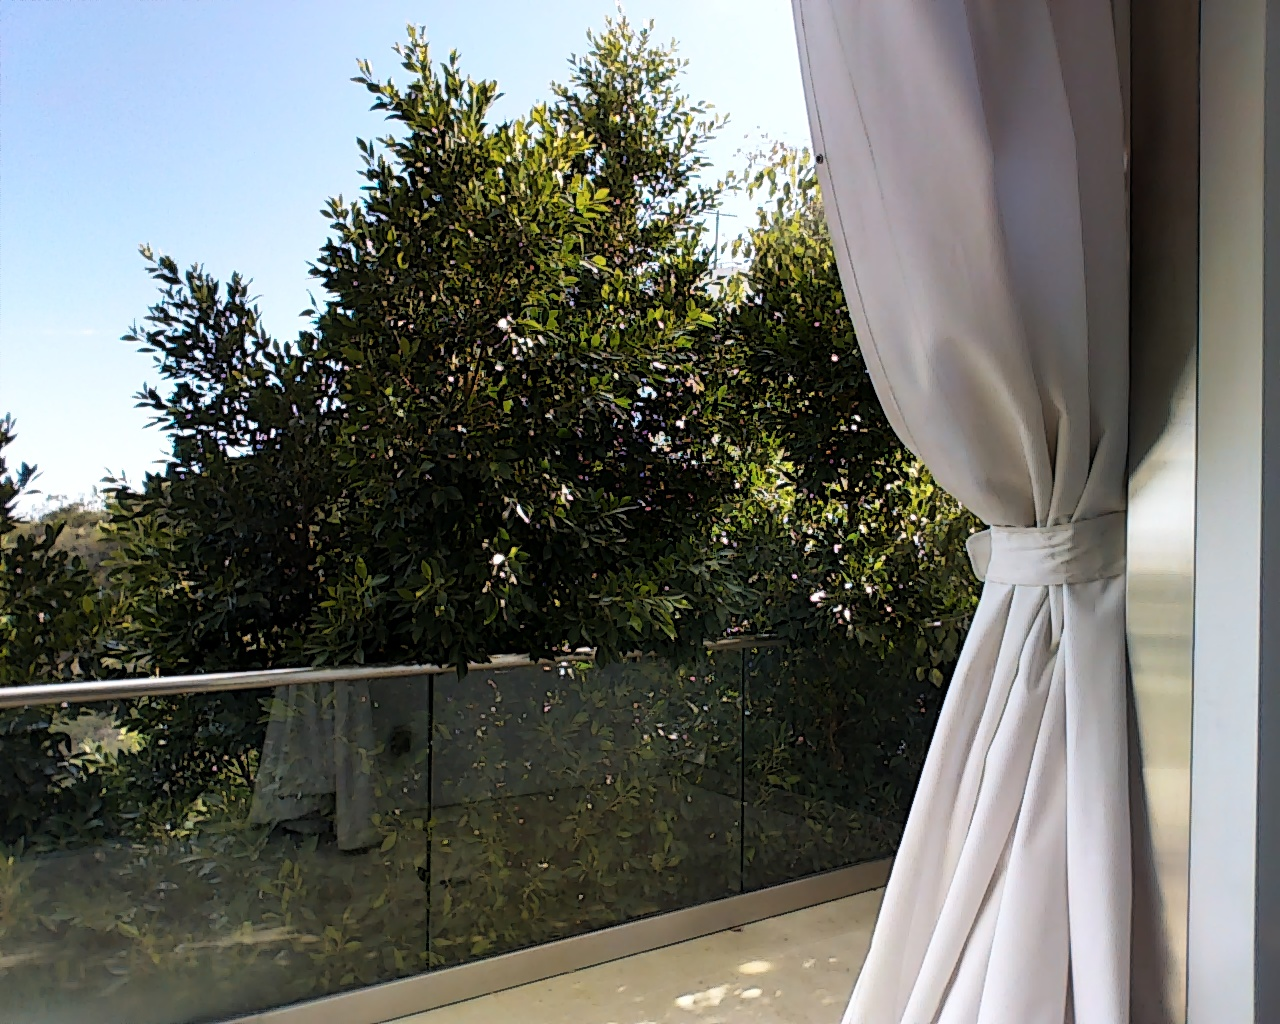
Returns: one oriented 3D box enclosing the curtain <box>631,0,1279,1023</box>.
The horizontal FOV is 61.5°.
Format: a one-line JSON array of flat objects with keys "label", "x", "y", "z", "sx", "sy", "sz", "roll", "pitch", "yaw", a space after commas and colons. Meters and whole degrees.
[{"label": "curtain", "x": 0.540, "y": -0.220, "z": 1.590, "sx": 1.010, "sy": 3.471, "sz": 0.440, "roll": 1, "pitch": 0, "yaw": -33}]
